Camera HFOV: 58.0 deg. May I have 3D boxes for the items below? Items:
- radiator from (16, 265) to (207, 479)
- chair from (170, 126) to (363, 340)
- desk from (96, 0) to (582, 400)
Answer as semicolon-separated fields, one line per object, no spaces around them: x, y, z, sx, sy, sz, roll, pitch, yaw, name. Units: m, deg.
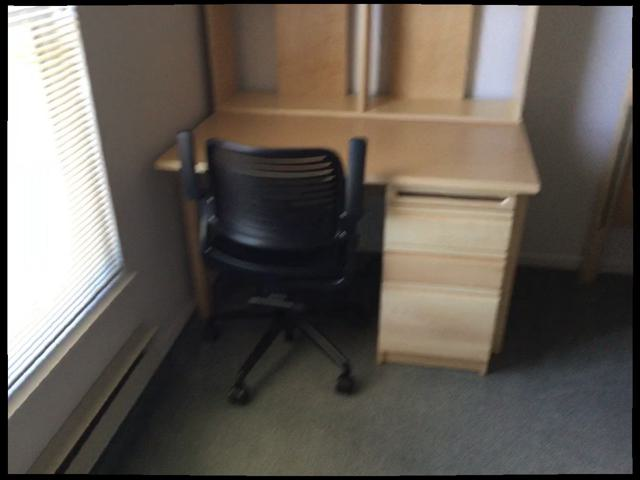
-0.659;0.561;1.780;0.080;0.260;1.381;5;31;11;radiator
-0.150;-0.020;1.920;0.549;0.641;0.220;5;31;11;chair
0.110;-0.411;2.190;1.288;1.562;0.990;5;31;11;desk
